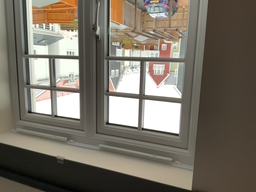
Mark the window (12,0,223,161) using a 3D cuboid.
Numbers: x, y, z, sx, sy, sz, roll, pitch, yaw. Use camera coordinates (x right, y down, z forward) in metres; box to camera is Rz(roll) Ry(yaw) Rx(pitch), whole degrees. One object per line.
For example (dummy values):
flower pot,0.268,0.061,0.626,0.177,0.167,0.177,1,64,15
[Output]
window,-0.140,-0.320,1.080,1.120,1.140,0.050,6,-169,20
